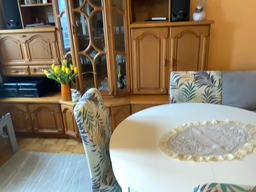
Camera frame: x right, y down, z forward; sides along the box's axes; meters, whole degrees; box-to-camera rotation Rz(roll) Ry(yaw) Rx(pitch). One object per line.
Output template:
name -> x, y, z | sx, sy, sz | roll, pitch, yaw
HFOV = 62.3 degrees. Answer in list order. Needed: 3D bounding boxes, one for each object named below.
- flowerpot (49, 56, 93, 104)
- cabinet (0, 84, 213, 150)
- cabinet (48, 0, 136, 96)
flowerpot -> -0.700, -0.210, 2.660 | 0.410, 0.550, 0.230 | 1, 20, 10
cabinet -> -0.360, 0.220, 2.820 | 2.650, 0.560, 0.630 | 1, 20, 9
cabinet -> -0.390, -0.880, 2.510 | 0.870, 1.700, 0.450 | 1, 20, 9
